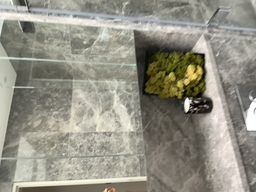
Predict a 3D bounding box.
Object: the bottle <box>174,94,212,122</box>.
[{"bbox_3d":[0.300,0.060,1.000,0.140,0.110,0.080,111,158,-60],"label":"bottle"}]
